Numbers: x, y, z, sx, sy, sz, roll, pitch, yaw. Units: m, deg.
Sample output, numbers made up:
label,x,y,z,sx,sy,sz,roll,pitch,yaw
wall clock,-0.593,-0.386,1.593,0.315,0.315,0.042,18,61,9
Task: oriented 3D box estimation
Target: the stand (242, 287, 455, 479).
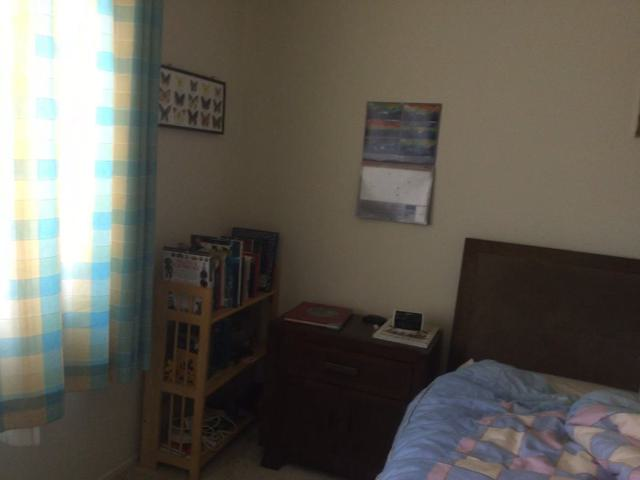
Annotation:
label,x,y,z,sx,sy,sz,roll,pitch,yaw
stand,0.130,0.650,2.570,0.770,0.690,0.470,9,9,22
